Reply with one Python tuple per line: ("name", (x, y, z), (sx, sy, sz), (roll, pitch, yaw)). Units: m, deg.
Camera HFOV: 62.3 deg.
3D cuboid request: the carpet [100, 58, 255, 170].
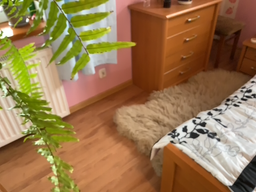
("carpet", (0.550, 0.040, 2.090), (1.500, 0.150, 0.680), (-26, 43, -28))
